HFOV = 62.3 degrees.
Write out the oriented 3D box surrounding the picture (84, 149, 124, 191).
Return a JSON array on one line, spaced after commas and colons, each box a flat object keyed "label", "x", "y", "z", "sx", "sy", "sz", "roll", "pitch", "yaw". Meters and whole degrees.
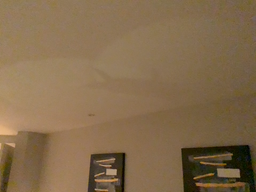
[{"label": "picture", "x": -0.320, "y": 1.140, "z": 2.650, "sx": 0.590, "sy": 0.900, "sz": 0.090, "roll": -14, "pitch": -25, "yaw": 37}]
